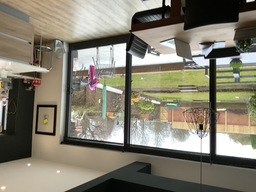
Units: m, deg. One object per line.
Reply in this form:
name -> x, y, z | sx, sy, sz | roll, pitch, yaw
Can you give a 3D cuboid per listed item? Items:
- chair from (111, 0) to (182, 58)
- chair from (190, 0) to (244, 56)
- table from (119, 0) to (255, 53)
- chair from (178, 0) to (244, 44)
chair -> 0.240, -1.020, 2.680 | 0.660, 0.880, 0.590 | -1, 176, 39
chair -> 1.100, -1.000, 2.580 | 0.550, 0.860, 0.590 | 0, 176, 29
table -> 1.120, -1.070, 2.190 | 2.200, 0.780, 1.030 | 0, 176, 30
chair -> 0.820, -1.040, 2.060 | 0.520, 0.870, 0.550 | 0, 176, 27
